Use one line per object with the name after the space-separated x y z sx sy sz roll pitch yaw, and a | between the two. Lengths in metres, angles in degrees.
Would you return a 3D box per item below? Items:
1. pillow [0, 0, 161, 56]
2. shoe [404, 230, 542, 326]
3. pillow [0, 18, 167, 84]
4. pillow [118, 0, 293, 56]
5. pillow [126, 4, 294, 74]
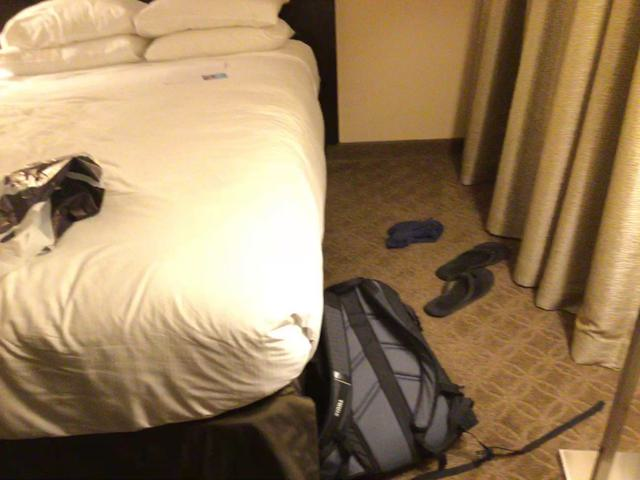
-1.040 -0.940 2.450 0.610 0.210 0.380 3 29 1 | pillow
0.520 0.120 2.040 0.320 0.120 0.400 -4 29 -11 | shoe
-1.040 -0.820 2.480 0.640 0.170 0.420 3 29 1 | pillow
-0.450 -0.950 2.420 0.640 0.240 0.410 3 29 1 | pillow
-0.430 -0.830 2.370 0.620 0.200 0.280 3 29 1 | pillow
